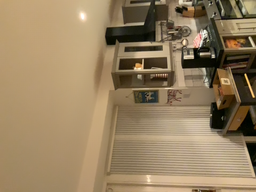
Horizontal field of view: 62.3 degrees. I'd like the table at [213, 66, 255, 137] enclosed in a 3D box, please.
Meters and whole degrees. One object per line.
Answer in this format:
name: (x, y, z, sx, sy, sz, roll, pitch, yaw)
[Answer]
table: (1.550, 0.090, 2.560, 0.770, 0.770, 0.490, 81, -169, -49)
